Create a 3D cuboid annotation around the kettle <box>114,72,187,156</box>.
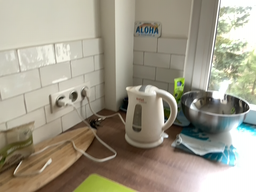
[{"bbox_3d":[0.110,0.050,0.920,0.180,0.210,0.350,12,24,26],"label":"kettle"}]
